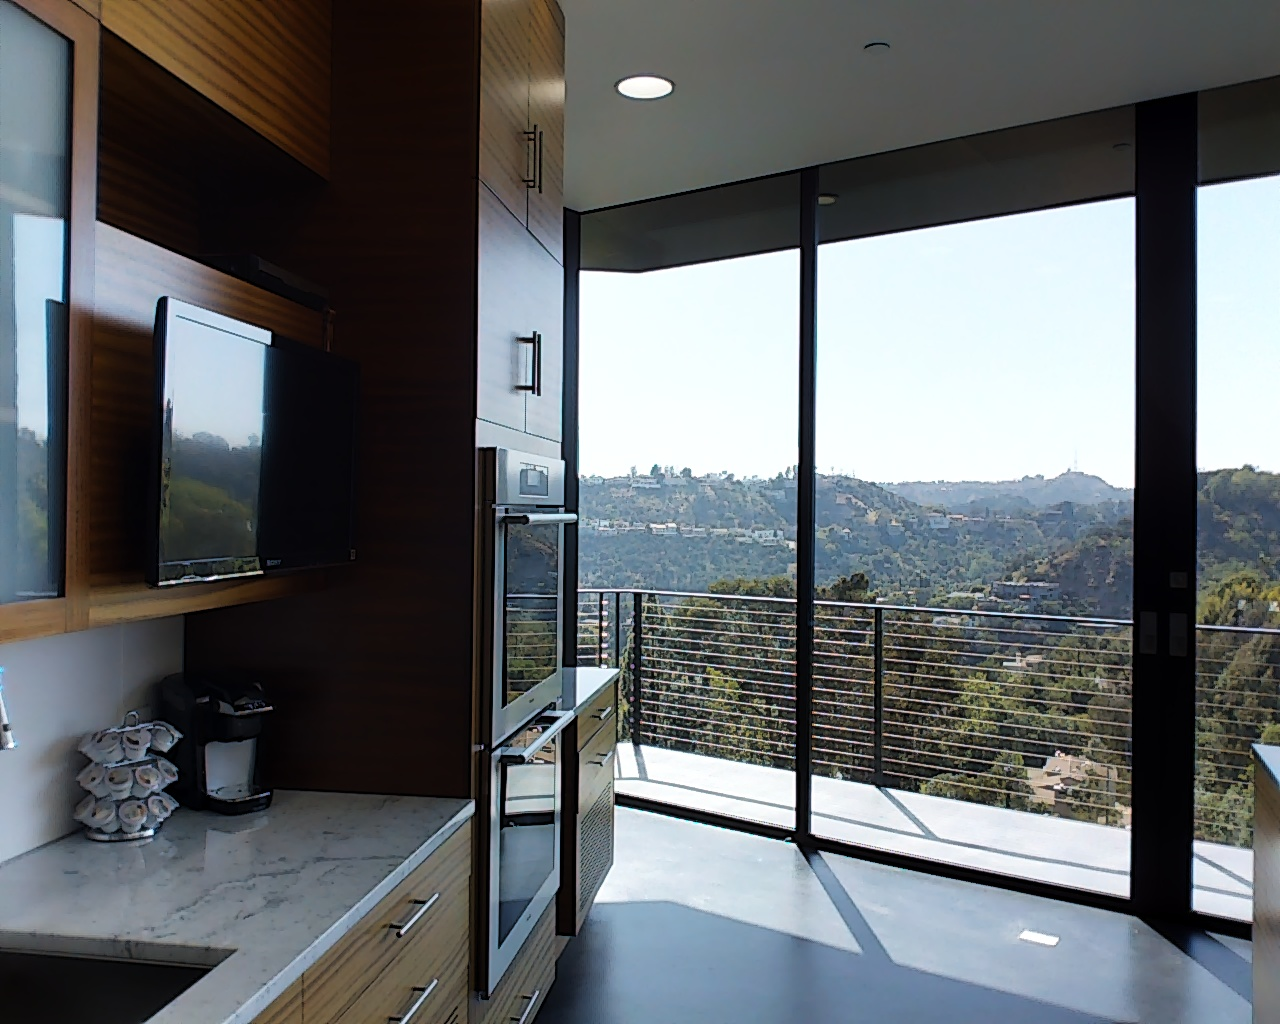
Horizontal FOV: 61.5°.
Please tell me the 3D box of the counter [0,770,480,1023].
[{"bbox_3d":[-0.890,0.650,1.230,0.690,0.050,2.590,1,0,8],"label":"counter"}]
